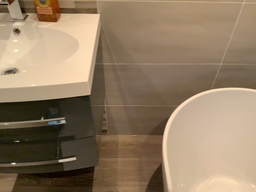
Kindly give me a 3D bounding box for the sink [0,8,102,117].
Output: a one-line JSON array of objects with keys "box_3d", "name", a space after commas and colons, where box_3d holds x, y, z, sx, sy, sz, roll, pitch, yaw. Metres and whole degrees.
[{"box_3d": [-0.430, -0.150, 0.730, 0.640, 0.110, 0.490, 0, 44, -2], "name": "sink"}]
